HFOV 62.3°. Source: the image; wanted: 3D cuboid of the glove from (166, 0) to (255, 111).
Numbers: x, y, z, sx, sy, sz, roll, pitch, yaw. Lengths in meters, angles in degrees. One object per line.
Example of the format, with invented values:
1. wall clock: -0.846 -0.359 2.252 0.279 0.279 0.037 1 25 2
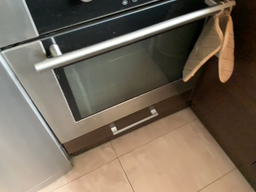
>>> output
1. glove: 0.250 -0.110 0.650 0.190 0.280 0.120 -23 59 -15
